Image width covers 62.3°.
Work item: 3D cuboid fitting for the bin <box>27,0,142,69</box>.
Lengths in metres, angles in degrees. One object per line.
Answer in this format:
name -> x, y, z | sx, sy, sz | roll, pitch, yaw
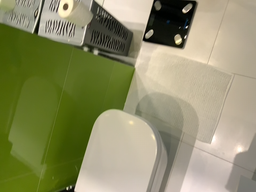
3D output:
bin -> -0.240, -0.400, 1.360 | 0.380, 0.580, 0.270 | 24, 100, 29
